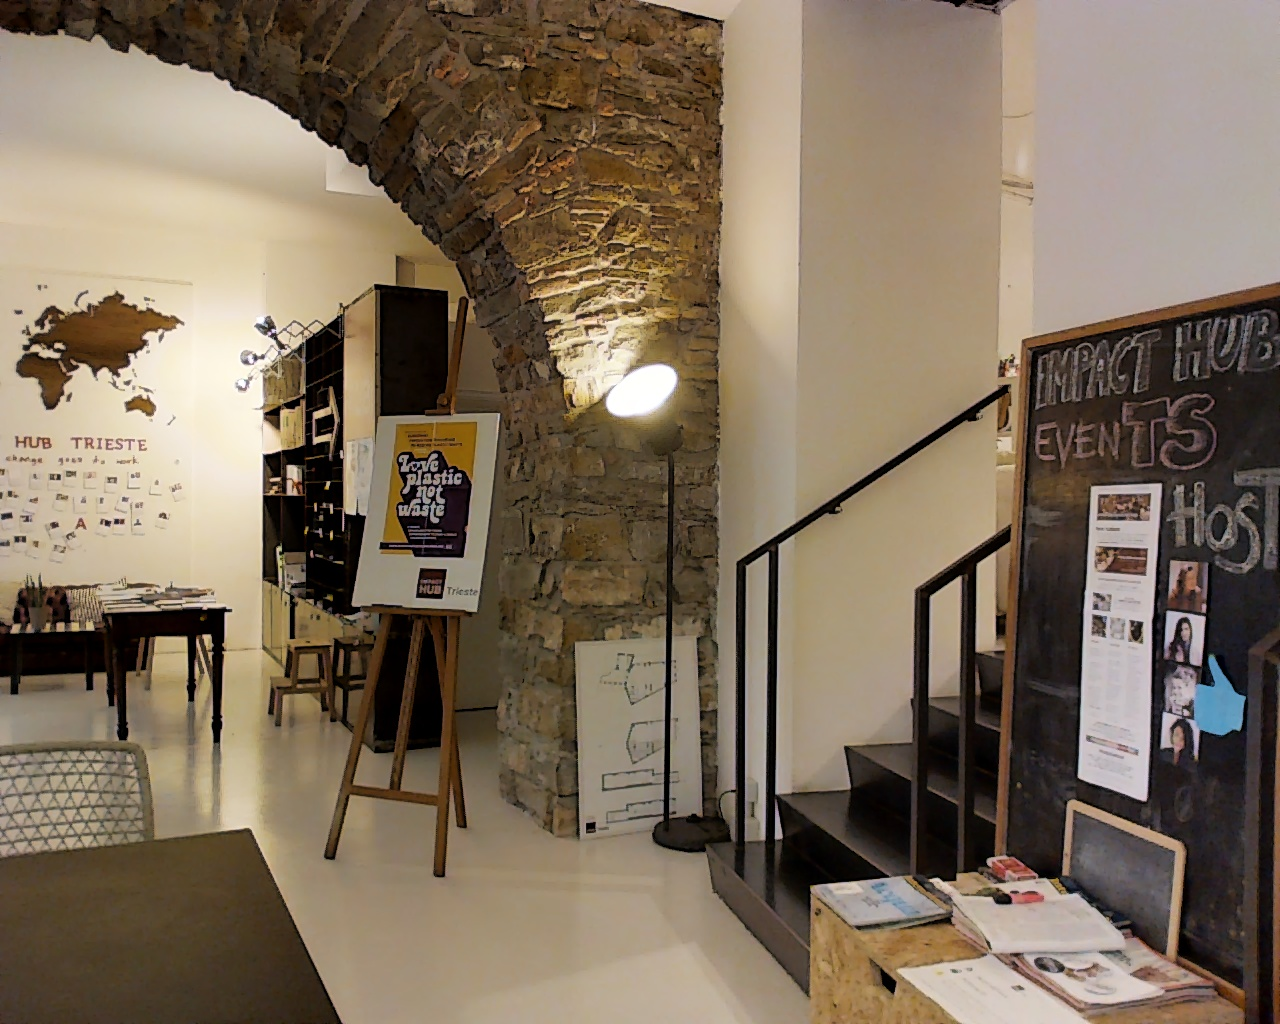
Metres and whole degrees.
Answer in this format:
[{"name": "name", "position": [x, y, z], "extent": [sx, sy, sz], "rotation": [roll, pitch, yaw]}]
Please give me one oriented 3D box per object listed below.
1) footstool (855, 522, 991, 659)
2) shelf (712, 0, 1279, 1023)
[{"name": "footstool", "position": [1.120, 0.300, 4.310], "extent": [0.390, 0.510, 0.470], "rotation": [0, 0, -4]}, {"name": "shelf", "position": [0.840, -0.800, 3.280], "extent": [0.640, 2.751, 4.580], "rotation": [0, 0, -3]}]
